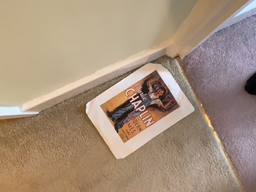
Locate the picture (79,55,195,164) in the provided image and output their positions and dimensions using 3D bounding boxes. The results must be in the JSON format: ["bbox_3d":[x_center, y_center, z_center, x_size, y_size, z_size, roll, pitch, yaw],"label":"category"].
[{"bbox_3d":[0.030,0.040,0.680,0.300,0.010,0.220,-33,88,-4],"label":"picture"}]
